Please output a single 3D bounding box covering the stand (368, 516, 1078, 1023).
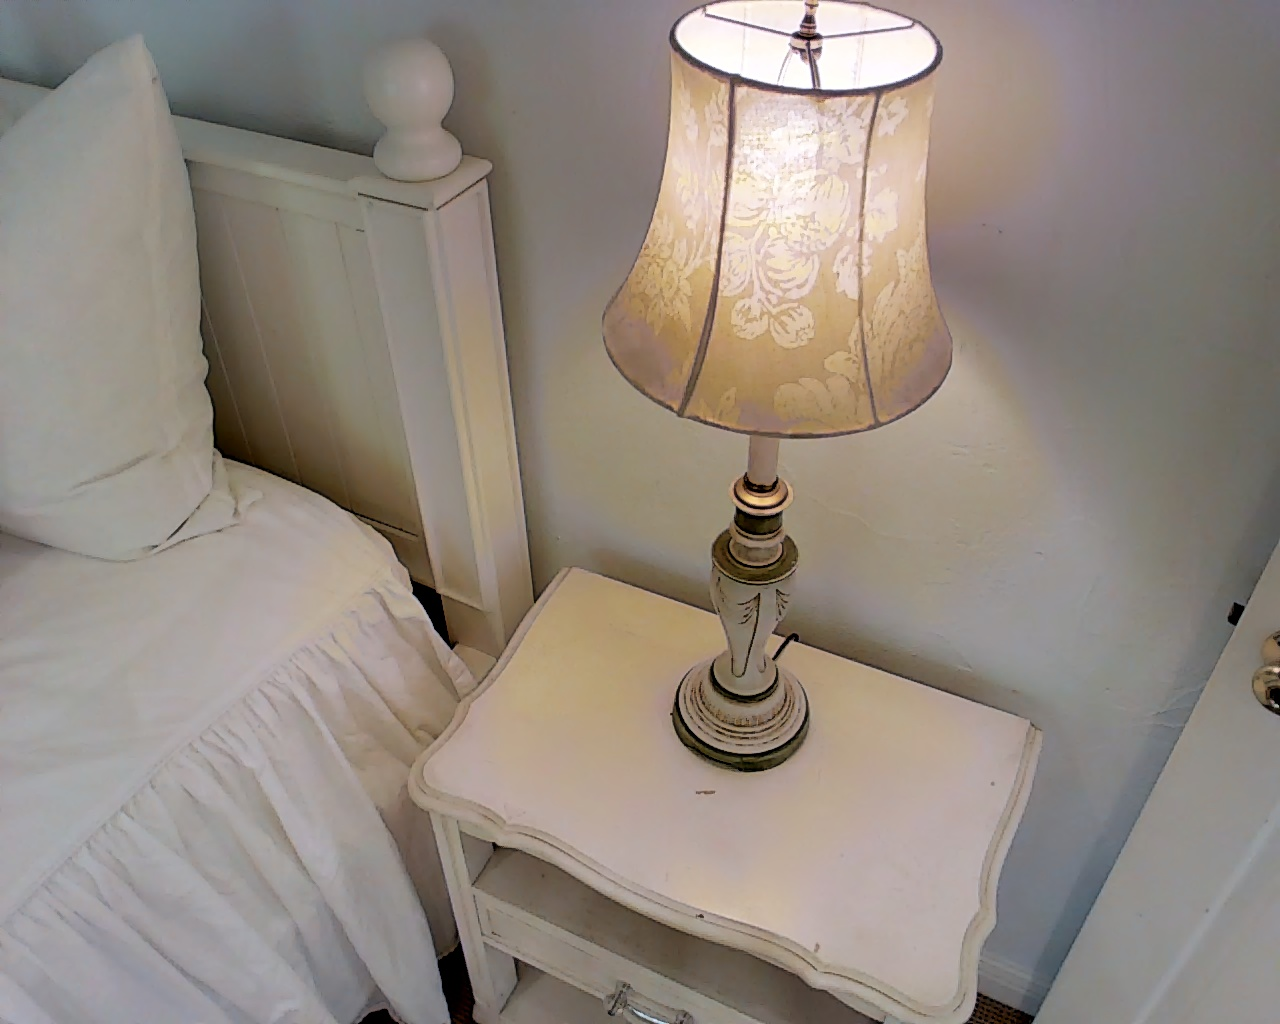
[{"bbox_3d":[0.110,0.490,1.400,0.640,0.670,0.470,18,45,21],"label":"stand"}]
